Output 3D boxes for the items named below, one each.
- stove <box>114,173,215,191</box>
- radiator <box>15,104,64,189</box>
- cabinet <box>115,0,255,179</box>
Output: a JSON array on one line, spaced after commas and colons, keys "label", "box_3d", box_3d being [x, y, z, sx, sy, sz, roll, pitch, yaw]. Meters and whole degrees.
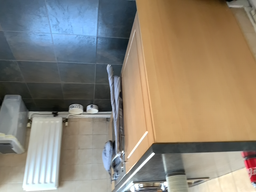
[{"label": "stove", "box_3d": [0.220, 0.650, 1.560, 0.580, 0.030, 0.600, 1, 151, -11]}, {"label": "radiator", "box_3d": [-0.840, 0.470, 2.100, 0.350, 0.800, 0.150, 2, 150, -13]}, {"label": "cabinet", "box_3d": [0.280, -0.050, 1.260, 0.590, 0.900, 0.620, 1, 151, -11]}]
